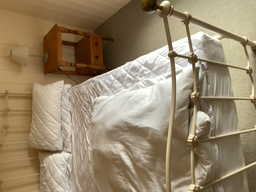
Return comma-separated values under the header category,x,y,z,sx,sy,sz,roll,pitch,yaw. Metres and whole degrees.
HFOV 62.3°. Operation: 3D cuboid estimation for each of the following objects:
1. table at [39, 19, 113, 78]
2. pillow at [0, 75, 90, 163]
category,x,y,z,sx,sy,sz,roll,pitch,yaw
table,-0.610,-0.510,2.500,0.460,0.710,0.450,-14,78,50
pillow,-0.820,0.230,2.170,0.320,0.470,0.710,-13,42,50
